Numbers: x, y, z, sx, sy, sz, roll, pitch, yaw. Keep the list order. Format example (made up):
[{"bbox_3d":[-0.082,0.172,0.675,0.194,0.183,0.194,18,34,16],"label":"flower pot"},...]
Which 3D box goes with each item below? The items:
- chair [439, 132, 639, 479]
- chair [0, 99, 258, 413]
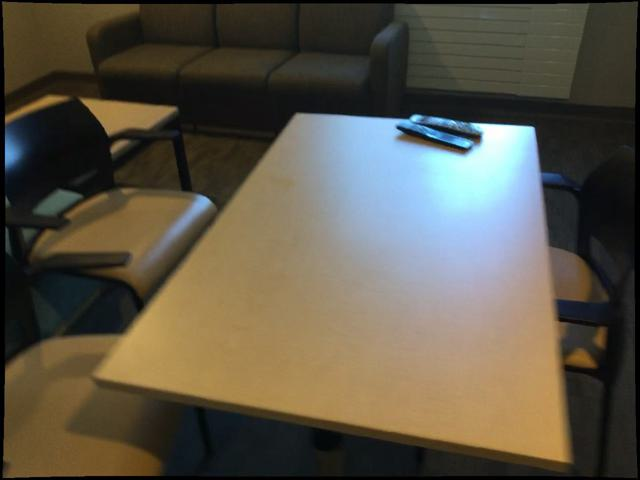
[{"bbox_3d":[0.639,0.180,1.510,0.539,0.720,0.530,7,35,12],"label":"chair"},{"bbox_3d":[-0.599,0.030,1.800,0.609,0.730,0.540,7,35,12],"label":"chair"}]
